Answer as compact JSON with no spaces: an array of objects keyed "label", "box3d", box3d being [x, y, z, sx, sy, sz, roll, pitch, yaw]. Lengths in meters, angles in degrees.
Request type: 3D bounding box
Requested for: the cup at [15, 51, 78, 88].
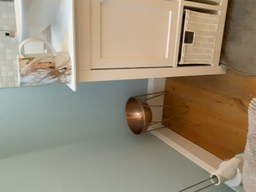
[{"label":"cup","box3d":[-0.310,-0.110,0.800,0.180,0.190,0.110,25,118,58]}]
